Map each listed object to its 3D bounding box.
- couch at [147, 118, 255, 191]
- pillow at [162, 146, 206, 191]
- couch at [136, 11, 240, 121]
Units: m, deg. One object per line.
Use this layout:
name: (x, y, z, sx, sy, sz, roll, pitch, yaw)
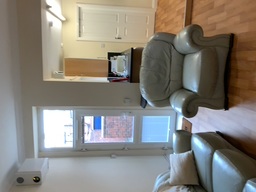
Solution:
couch: (0.840, 1.020, 1.930, 1.960, 0.840, 1.110, -127, 39, -76)
pillow: (0.660, 0.860, 2.490, 0.300, 0.150, 0.430, 18, 68, 47)
couch: (0.680, -0.370, 2.860, 1.060, 0.920, 1.170, -136, 47, -78)
